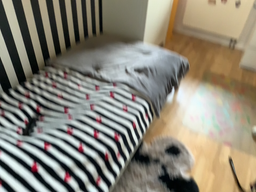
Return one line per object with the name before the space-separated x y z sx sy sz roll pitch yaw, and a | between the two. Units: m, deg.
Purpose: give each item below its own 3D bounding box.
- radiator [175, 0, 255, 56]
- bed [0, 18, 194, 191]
radiator | 1.170 -1.030 2.880 0.900 0.720 0.140 22 43 18
bed | -0.380 0.110 1.540 1.020 0.470 2.120 24 44 19
